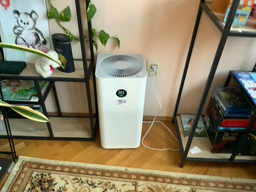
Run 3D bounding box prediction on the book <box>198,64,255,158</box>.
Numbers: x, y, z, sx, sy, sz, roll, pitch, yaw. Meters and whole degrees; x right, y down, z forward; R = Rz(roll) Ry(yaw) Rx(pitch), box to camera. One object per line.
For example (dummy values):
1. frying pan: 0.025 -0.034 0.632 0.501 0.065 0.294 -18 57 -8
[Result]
1. book: 0.620 0.080 1.180 0.300 0.360 0.360 3 39 1
